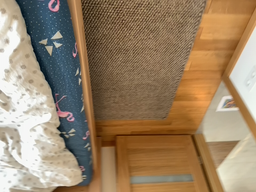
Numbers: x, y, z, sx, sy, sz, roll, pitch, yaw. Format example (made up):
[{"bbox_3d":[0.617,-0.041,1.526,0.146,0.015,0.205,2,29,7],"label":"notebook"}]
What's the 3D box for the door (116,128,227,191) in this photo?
[{"bbox_3d":[0.420,1.100,1.640,0.930,1.940,0.120,-1,137,-6],"label":"door"}]
